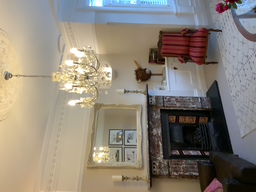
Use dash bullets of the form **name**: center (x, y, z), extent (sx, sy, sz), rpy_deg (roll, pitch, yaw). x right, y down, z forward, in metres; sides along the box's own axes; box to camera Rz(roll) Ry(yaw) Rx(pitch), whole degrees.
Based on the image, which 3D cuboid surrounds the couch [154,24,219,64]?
- **couch**: center (1.080, -1.030, 4.150), extent (0.840, 0.970, 0.650), rpy_deg (-94, 6, -73)

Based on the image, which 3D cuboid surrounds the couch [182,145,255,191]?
- **couch**: center (1.200, 1.250, 2.730), extent (0.950, 0.740, 1.030), rpy_deg (134, 137, -88)
